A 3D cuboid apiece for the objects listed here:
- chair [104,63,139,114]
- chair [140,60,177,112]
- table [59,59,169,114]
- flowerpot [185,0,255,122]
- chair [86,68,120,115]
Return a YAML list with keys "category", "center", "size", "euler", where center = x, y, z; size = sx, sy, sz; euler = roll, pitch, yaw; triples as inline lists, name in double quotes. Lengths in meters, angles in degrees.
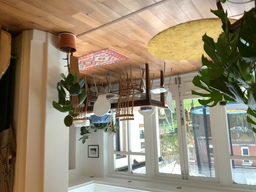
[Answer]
- category: "chair"
  center: [-0.120, -0.110, 4.040]
  size: [0.440, 0.860, 0.500]
  euler: [-7, 170, 31]
- category: "chair"
  center: [0.570, -0.150, 3.940]
  size: [0.500, 0.860, 0.420]
  euler: [-7, 170, 31]
- category: "table"
  center: [-0.360, -0.080, 4.490]
  size: [2.200, 0.760, 0.900]
  euler: [-8, 170, 33]
- category: "flowerpot"
  center: [0.770, -0.400, 1.280]
  size: [0.650, 1.070, 0.740]
  euler: [-7, 170, 29]
- category: "chair"
  center: [-0.500, -0.060, 4.280]
  size: [0.440, 0.860, 0.500]
  euler: [-7, 170, 31]
